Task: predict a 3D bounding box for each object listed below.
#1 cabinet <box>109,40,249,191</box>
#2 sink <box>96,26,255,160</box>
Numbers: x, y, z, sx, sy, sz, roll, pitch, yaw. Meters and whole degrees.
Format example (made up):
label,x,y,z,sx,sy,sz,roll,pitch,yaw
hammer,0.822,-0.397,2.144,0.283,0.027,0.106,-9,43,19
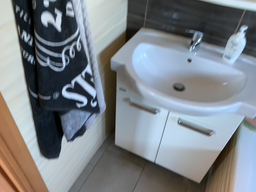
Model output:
label,x,y,z,sx,sy,sz,roll,pitch,yaw
cabinet,0.240,0.150,1.330,0.630,0.760,0.330,22,47,16
sink,0.250,-0.070,1.020,0.650,0.190,0.460,22,47,16
